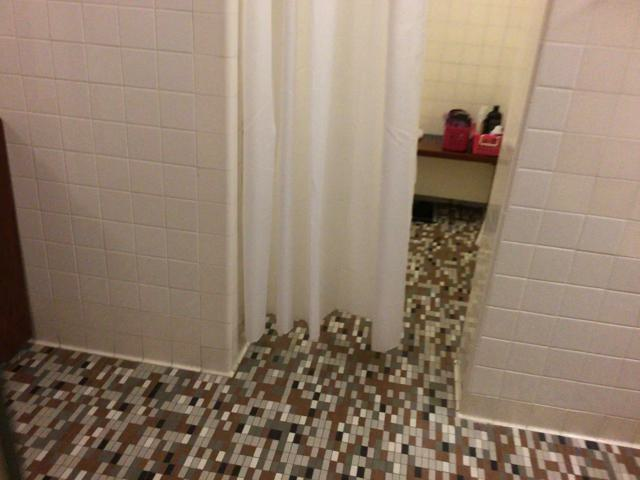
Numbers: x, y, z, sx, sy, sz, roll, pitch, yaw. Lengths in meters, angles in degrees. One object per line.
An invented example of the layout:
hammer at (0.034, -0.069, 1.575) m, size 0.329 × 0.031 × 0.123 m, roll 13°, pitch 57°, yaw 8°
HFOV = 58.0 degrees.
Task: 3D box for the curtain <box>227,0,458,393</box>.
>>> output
curtain at (0.060, -0.370, 1.830) m, size 0.580 × 1.660 × 0.450 m, roll 7°, pitch 24°, yaw 5°

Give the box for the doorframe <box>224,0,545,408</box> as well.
doorframe at (0.140, -0.280, 1.750) m, size 0.810 × 1.650 × 0.220 m, roll 7°, pitch 24°, yaw 5°
